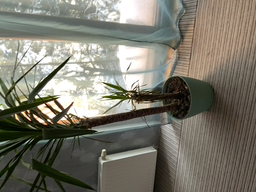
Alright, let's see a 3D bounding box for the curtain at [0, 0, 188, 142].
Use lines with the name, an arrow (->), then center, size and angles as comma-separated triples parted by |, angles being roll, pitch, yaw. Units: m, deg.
curtain -> -0.590, -0.540, 1.550 | 0.280, 2.330, 1.680 | 32, 121, 57
